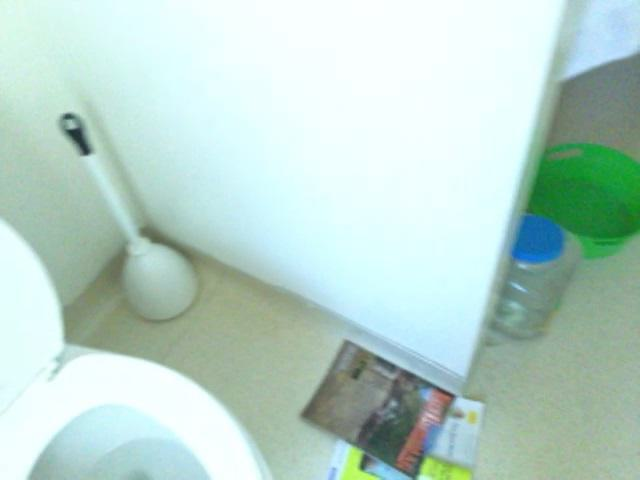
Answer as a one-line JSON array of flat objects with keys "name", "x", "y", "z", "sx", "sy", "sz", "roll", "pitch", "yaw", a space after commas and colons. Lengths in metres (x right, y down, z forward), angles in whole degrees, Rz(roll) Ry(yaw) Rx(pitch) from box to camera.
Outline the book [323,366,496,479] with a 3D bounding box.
[{"name": "book", "x": 0.180, "y": 0.410, "z": 1.150, "sx": 0.290, "sy": 0.030, "sz": 0.260, "roll": 10, "pitch": 57, "yaw": 18}]
